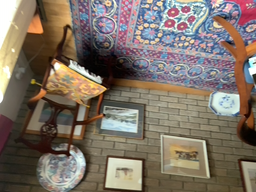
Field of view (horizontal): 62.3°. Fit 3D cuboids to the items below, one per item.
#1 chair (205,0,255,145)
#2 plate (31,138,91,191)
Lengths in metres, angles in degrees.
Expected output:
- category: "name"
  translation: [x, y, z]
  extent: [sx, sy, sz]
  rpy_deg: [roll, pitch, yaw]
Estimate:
- category: "chair"
  translation: [0.900, -0.230, 1.320]
  extent: [0.590, 0.890, 0.410]
  rpy_deg: [-19, 142, 33]
- category: "plate"
  translation: [-0.580, 0.610, 1.900]
  extent: [0.420, 0.440, 0.050]
  rpy_deg: [5, 149, -1]
